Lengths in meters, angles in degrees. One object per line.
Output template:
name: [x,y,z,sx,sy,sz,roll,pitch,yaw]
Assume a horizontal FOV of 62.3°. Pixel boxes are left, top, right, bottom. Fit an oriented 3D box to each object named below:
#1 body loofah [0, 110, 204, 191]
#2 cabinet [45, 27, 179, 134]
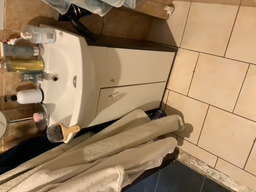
body loofah: [-0.050,0.320,1.040,0.190,1.400,0.240,31,116,36]
cabinet: [-0.070,-0.120,1.340,0.310,0.750,0.460,30,115,37]
